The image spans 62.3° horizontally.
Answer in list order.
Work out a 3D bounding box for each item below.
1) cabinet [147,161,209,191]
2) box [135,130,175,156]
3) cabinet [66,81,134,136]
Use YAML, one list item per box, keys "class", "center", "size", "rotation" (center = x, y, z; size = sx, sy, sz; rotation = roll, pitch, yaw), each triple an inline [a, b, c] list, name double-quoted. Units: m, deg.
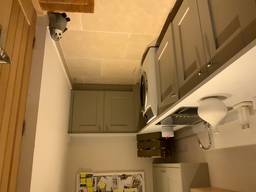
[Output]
- class: "cabinet"
  center: [0.580, 1.320, 2.750]
  size: [0.380, 0.890, 1.280]
  rotation: [0, 163, -7]
- class: "box"
  center: [0.390, 0.740, 3.270]
  size: [0.450, 0.330, 0.570]
  rotation: [1, 163, -7]
- class: "cabinet"
  center: [-0.450, 0.200, 3.540]
  size: [1.060, 0.870, 0.220]
  rotation: [0, 163, -7]
